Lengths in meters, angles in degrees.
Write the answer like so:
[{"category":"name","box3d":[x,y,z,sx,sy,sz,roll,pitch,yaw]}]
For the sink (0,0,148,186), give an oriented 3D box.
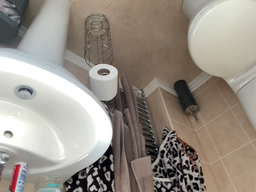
[{"category":"sink","box3d":[-0.310,0.030,0.610,0.560,0.200,0.440,29,124,-34]}]
